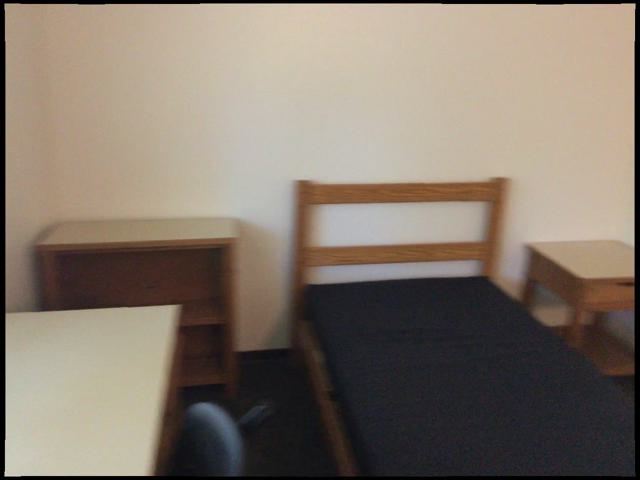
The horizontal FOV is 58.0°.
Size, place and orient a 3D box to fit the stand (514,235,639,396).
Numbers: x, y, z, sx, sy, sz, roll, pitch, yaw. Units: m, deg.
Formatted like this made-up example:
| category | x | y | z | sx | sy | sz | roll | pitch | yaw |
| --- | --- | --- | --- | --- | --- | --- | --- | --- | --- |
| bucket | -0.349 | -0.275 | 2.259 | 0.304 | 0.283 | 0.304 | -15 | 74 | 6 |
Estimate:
| category | x | y | z | sx | sy | sz | roll | pitch | yaw |
| --- | --- | --- | --- | --- | --- | --- | --- | --- | --- |
| stand | 1.387 | 0.341 | 2.810 | 0.599 | 0.591 | 0.530 | 0 | 20 | -7 |

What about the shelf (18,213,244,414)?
| category | x | y | z | sx | sy | sz | roll | pitch | yaw |
| --- | --- | --- | --- | --- | --- | --- | --- | --- | --- |
| shelf | -0.758 | 0.301 | 2.530 | 0.828 | 0.751 | 0.410 | 0 | 20 | -7 |

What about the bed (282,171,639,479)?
| category | x | y | z | sx | sy | sz | roll | pitch | yaw |
| --- | --- | --- | --- | --- | --- | --- | --- | --- | --- |
| bed | 0.549 | 0.491 | 1.820 | 1.208 | 0.922 | 2.270 | 0 | 20 | -7 |
